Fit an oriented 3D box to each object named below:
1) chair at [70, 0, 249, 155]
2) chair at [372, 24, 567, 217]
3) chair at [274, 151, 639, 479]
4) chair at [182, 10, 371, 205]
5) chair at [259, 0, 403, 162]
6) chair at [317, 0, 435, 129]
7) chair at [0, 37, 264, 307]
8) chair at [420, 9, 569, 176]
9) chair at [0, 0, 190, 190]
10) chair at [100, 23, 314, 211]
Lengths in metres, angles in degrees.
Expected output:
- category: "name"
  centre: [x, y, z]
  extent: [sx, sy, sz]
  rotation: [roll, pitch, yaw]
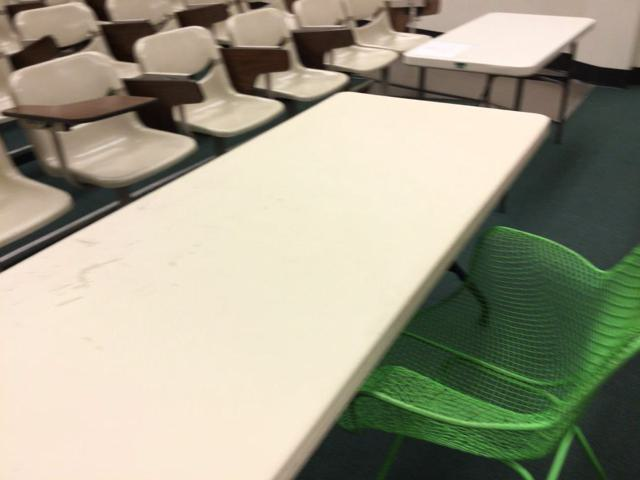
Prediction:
- category: "chair"
  centre: [-0.930, -1.060, 3.510]
  extent: [0.560, 0.820, 0.680]
  rotation: [14, 36, 31]
- category: "chair"
  centre: [0.690, -0.590, 2.690]
  extent: [0.670, 0.680, 0.550]
  rotation: [14, 36, 31]
- category: "chair"
  centre: [0.390, 0.310, 1.220]
  extent: [0.570, 0.720, 0.700]
  rotation: [14, 36, 31]
- category: "chair"
  centre: [-0.180, -0.740, 3.070]
  extent: [0.550, 0.770, 0.770]
  rotation: [14, 36, 31]
- category: "chair"
  centre: [0.100, -0.990, 3.510]
  extent: [0.550, 0.780, 0.630]
  rotation: [14, 36, 31]
- category: "chair"
  centre: [0.410, -1.250, 3.960]
  extent: [0.550, 0.760, 0.590]
  rotation: [14, 36, 31]
- category: "chair"
  centre: [-0.780, -0.330, 2.300]
  extent: [0.700, 0.750, 0.740]
  rotation: [14, 36, 31]
- category: "chair"
  centre: [0.920, -0.810, 3.090]
  extent: [0.580, 0.710, 0.520]
  rotation: [14, 36, 31]
- category: "chair"
  centre: [-1.220, -0.820, 3.080]
  extent: [0.570, 0.820, 0.670]
  rotation: [14, 36, 31]
- category: "chair"
  centre: [-0.470, -0.590, 2.610]
  extent: [0.570, 0.620, 0.620]
  rotation: [14, 36, 31]
